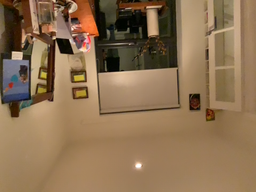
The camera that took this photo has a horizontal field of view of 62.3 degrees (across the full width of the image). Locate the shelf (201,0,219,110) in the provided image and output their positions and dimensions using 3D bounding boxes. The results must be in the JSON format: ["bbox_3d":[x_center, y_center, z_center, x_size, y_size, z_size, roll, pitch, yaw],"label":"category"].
[{"bbox_3d":[1.090,-0.820,2.830,0.150,2.010,0.140,-4,-174,-2],"label":"shelf"}]
